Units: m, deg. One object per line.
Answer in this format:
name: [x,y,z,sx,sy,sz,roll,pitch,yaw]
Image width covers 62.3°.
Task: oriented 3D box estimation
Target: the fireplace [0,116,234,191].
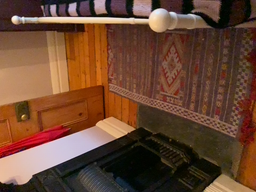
fireplace: [-0.080,0.560,1.340,0.930,1.160,0.280,21,118,45]
